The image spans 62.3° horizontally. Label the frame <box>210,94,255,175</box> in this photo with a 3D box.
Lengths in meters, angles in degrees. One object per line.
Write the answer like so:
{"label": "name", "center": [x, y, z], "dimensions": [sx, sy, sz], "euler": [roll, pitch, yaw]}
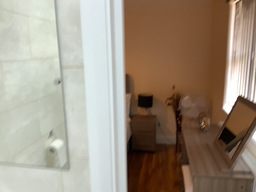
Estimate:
{"label": "frame", "center": [0.870, 0.280, 1.720], "dimensions": [0.070, 0.540, 0.490], "euler": [27, 17, 6]}
